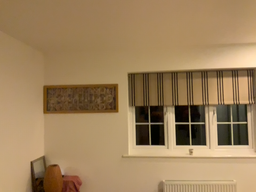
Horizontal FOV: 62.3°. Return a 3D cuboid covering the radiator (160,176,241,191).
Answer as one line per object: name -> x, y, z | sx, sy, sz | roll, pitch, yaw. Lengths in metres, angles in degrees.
radiator -> 0.900, 1.270, 2.670 | 0.970, 0.490, 0.080 | -2, -3, 5
